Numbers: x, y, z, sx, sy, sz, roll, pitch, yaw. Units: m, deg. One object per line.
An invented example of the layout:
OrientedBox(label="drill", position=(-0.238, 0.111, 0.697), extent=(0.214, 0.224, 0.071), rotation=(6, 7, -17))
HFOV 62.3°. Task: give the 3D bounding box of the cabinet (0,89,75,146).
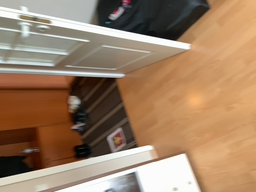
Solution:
OrientedBox(label="cabinet", position=(-1.930, 0.310, 2.880), extent=(0.560, 2.220, 0.620), rotation=(-44, 58, 42))

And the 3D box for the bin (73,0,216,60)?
OrientedBox(label="bin", position=(0.120, -0.590, 1.490), extent=(0.510, 0.790, 0.350), rotation=(-45, 58, 42))

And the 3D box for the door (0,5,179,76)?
OrientedBox(label="door", position=(-0.660, -0.310, 1.420), extent=(0.880, 2.050, 0.120), rotation=(-8, 85, 51))
